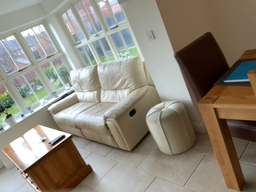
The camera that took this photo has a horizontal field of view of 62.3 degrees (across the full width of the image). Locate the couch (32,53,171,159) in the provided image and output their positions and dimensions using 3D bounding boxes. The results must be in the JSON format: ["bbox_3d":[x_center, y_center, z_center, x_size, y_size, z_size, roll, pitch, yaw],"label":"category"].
[{"bbox_3d":[-0.560,0.090,3.310,0.880,0.920,2.100,-38,23,-32],"label":"couch"}]

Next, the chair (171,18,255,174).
[{"bbox_3d":[0.870,0.010,1.640,0.500,1.020,0.570,-35,22,-25],"label":"chair"}]
